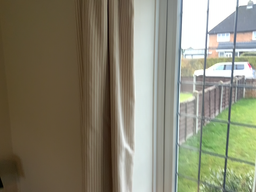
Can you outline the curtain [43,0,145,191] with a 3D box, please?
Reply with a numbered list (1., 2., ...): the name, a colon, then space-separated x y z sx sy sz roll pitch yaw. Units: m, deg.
1. curtain: -0.130 0.200 0.870 0.340 1.850 0.190 7 12 37
